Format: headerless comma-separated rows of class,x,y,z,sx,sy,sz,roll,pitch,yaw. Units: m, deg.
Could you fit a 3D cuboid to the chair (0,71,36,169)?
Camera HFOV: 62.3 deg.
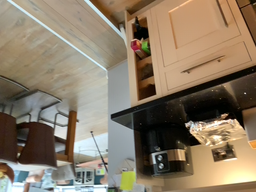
chair,-1.480,0.300,2.330,0.640,0.900,0.460,-20,148,29

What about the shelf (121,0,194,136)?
shelf,0.230,-0.220,1.670,0.190,0.920,0.620,-21,148,29

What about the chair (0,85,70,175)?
chair,-1.160,0.450,2.660,0.650,0.910,0.470,-20,148,29
